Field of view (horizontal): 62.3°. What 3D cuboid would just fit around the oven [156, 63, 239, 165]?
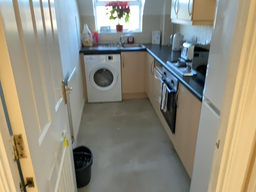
[{"bbox_3d":[0.710,0.170,2.420,0.610,0.960,0.610,-3,22,-5],"label":"oven"}]

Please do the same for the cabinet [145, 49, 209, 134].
[{"bbox_3d":[0.640,-0.130,3.180,0.590,0.960,1.020,-3,22,-5],"label":"cabinet"}]
